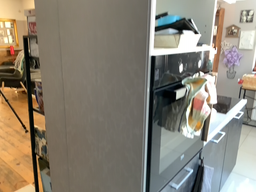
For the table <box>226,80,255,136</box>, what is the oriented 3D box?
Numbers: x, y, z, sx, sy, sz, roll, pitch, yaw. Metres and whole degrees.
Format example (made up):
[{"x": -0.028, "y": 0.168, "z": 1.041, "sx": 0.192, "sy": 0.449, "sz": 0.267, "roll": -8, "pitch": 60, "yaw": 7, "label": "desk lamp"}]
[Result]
[{"x": 2.210, "y": 0.220, "z": 3.330, "sx": 1.010, "sy": 0.750, "sz": 0.520, "roll": 14, "pitch": 20, "yaw": 37, "label": "table"}]
